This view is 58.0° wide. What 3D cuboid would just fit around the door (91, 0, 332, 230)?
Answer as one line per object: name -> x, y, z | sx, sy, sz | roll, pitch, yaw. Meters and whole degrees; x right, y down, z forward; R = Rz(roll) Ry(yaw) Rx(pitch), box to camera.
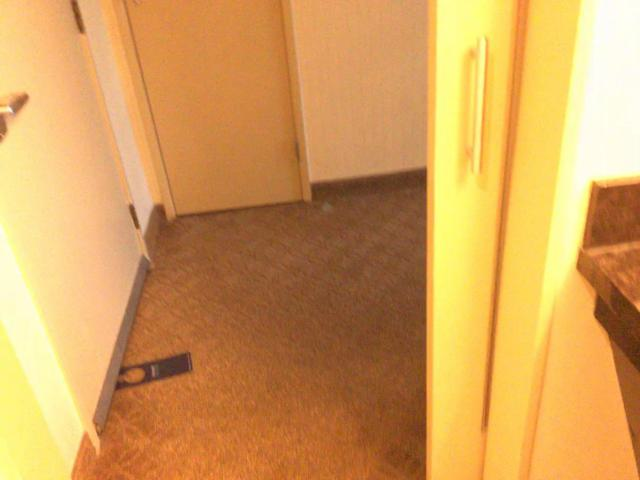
door -> -0.460, -1.160, 2.120 | 0.830, 2.390, 0.170 | -8, 32, -5
